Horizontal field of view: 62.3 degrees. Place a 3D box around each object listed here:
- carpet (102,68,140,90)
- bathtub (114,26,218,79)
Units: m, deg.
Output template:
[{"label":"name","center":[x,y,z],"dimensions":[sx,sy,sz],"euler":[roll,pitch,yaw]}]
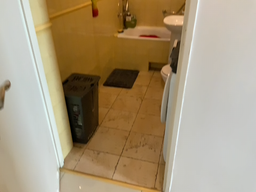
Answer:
[{"label":"carpet","center":[-0.080,-0.260,3.030],"dimensions":[0.430,0.040,0.550],"euler":[6,31,9]},{"label":"bathtub","center":[0.570,-0.720,3.330],"dimensions":[1.410,0.520,0.680],"euler":[7,31,12]}]
